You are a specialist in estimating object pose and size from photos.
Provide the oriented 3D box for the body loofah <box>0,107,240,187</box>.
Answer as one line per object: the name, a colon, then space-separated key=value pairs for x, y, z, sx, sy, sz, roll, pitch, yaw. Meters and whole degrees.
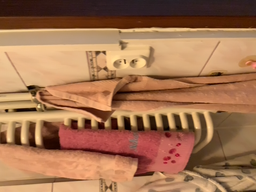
body loofah: x=-0.070 y=0.200 z=0.770 sx=0.350 sy=0.760 sz=0.150 roll=98 pitch=168 yaw=-61
